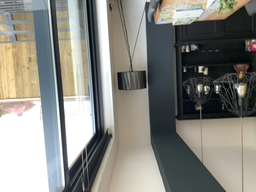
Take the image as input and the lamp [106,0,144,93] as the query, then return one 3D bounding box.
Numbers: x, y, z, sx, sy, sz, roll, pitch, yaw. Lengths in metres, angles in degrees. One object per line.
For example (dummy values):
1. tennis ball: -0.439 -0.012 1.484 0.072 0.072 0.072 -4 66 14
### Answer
1. lamp: -0.030 -0.970 3.650 0.530 1.770 0.570 -3 -175 5
